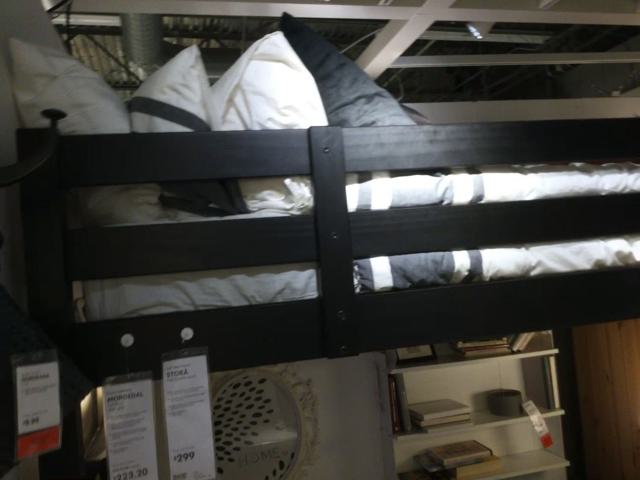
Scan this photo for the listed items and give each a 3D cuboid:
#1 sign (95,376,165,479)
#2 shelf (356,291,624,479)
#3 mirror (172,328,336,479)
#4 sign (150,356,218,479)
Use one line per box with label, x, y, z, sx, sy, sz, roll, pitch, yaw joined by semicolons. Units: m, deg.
sign;-0.300;0.370;0.940;0.080;0.280;0.030;-9;-2;-10
shelf;0.710;0.720;2.430;0.980;0.880;0.250;-7;-2;-10
mirror;-0.250;0.820;2.340;0.580;0.840;0.080;-7;-2;-10
sign;-0.220;0.340;0.960;0.080;0.280;0.020;-9;-2;-10
